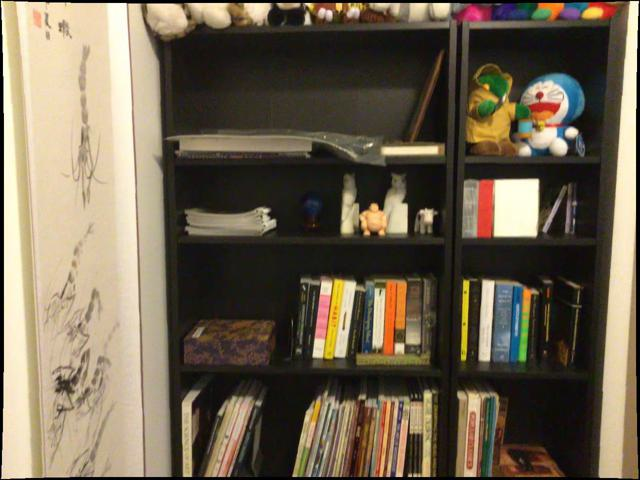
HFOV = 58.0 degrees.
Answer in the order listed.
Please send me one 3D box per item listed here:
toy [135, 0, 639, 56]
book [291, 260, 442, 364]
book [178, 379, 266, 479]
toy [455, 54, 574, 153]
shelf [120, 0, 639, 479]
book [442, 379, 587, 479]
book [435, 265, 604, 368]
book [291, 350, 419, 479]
[{"bbox_3d":[0.180,-0.742,1.570,1.267,0.391,0.350,1,7,3],"label":"toy"},{"bbox_3d":[0.140,0.211,1.820,0.419,0.231,0.390,1,7,3],"label":"book"},{"bbox_3d":[-0.289,0.591,1.760,0.219,0.261,0.210,1,7,3],"label":"book"},{"bbox_3d":[0.529,-0.371,1.600,0.269,0.251,0.160,1,7,3],"label":"toy"},{"bbox_3d":[0.180,0.331,1.650,1.267,2.015,0.480,1,7,3],"label":"shelf"},{"bbox_3d":[0.589,0.632,1.810,0.359,0.291,0.280,1,7,3],"label":"book"},{"bbox_3d":[0.589,0.221,1.790,0.399,0.221,0.380,1,7,3],"label":"book"},{"bbox_3d":[0.110,0.561,1.870,0.369,0.291,0.380,1,7,3],"label":"book"}]
